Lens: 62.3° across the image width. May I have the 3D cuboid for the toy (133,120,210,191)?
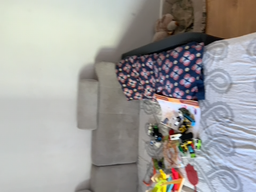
[{"bbox_3d":[0.300,0.570,1.730,0.780,0.140,0.660,0,90,61],"label":"toy"}]

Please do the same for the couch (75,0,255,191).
[{"bbox_3d":[0.290,0.610,1.630,1.490,0.980,2.240,3,92,61],"label":"couch"}]
